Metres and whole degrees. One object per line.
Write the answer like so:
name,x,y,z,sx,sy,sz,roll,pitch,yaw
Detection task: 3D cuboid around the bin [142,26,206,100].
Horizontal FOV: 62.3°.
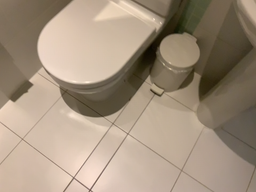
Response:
bin,0.240,-0.170,1.180,0.200,0.290,0.220,32,66,8

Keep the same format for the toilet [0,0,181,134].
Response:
toilet,-0.090,-0.300,0.920,0.370,0.810,0.650,34,67,9
